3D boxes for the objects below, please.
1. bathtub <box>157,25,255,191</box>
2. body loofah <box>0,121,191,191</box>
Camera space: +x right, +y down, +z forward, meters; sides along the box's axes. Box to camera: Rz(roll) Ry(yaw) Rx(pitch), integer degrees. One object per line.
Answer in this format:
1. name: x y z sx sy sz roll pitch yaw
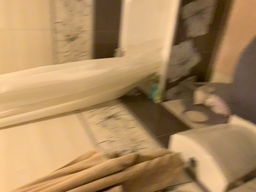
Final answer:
1. bathtub: 0.640 0.040 1.060 0.410 0.790 0.670 42 132 51
2. body loofah: -0.260 0.350 0.810 0.330 0.980 0.210 40 131 52
